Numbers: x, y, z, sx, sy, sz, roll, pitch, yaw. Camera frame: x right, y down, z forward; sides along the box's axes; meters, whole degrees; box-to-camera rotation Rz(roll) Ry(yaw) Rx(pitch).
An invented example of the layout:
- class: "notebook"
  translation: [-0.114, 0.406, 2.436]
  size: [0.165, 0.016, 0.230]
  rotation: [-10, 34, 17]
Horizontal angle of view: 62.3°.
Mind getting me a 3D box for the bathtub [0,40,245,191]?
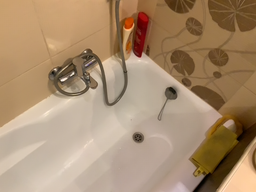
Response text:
- class: "bathtub"
  translation: [-0.260, 0.470, 0.980]
  size: [1.380, 0.630, 0.670]
  rotation: [-38, 69, -25]
